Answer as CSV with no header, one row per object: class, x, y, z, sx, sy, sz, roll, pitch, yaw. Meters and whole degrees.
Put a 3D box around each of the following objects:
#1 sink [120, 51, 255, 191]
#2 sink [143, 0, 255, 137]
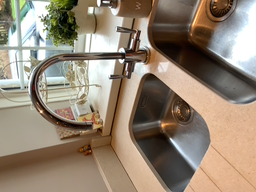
sink,0.190,0.120,0.750,0.460,0.180,0.400,48,134,44
sink,0.290,-0.210,0.560,0.460,0.200,0.400,48,134,44
